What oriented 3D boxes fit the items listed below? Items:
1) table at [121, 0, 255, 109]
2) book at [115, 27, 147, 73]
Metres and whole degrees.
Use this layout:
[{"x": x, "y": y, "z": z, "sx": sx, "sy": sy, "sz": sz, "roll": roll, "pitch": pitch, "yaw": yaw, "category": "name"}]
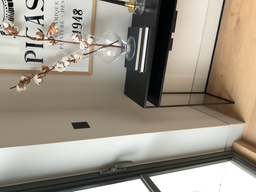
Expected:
[{"x": 0.400, "y": -0.400, "z": 1.400, "sx": 0.310, "sy": 0.750, "sz": 0.890, "roll": -146, "pitch": 59, "yaw": -60, "category": "table"}, {"x": 0.010, "y": -0.290, "z": 1.300, "sx": 0.270, "sy": 0.060, "sz": 0.250, "roll": -145, "pitch": 58, "yaw": -60, "category": "book"}]
